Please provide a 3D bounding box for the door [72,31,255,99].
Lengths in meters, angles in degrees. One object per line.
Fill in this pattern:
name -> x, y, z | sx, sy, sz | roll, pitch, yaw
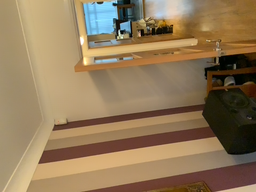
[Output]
door -> 0.600, -0.350, 1.770 | 0.970, 1.990, 0.180 | -115, 20, -68
